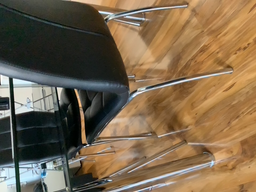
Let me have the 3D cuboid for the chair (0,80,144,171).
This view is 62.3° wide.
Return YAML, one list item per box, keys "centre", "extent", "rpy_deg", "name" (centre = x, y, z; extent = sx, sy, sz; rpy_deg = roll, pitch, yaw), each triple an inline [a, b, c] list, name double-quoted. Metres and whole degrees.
- centre: [-0.480, 0.200, 1.450]
  extent: [0.550, 0.960, 0.410]
  rpy_deg: [-40, 59, 55]
  name: "chair"

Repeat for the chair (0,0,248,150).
- centre: [-0.160, -0.130, 0.860]
  extent: [0.630, 0.960, 0.390]
  rpy_deg: [-53, 49, 49]
  name: "chair"
